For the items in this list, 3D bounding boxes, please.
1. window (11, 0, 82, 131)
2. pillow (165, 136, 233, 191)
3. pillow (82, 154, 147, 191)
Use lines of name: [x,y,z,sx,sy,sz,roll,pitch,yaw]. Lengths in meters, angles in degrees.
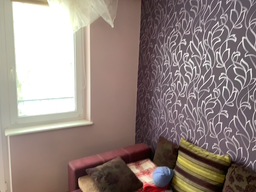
window: [-0.890,-0.350,2.410,0.700,1.390,0.170,-4,10,-34]
pillow: [0.620,0.690,1.940,0.170,0.440,0.460,-3,27,-36]
pillow: [-0.140,0.790,2.090,0.470,0.180,0.440,-5,11,-36]
